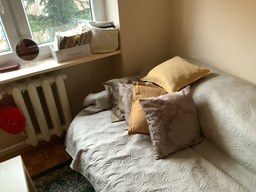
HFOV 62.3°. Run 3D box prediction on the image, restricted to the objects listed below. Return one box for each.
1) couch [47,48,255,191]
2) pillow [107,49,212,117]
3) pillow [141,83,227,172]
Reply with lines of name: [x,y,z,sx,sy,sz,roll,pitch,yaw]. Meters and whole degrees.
couch: [0.470,0.470,1.240,1.200,0.700,2.220,-19,35,-24]
pillow: [0.240,-0.140,1.650,0.670,0.210,0.420,-20,35,-25]
pillow: [0.340,0.180,1.370,0.410,0.350,0.300,-18,34,-22]
